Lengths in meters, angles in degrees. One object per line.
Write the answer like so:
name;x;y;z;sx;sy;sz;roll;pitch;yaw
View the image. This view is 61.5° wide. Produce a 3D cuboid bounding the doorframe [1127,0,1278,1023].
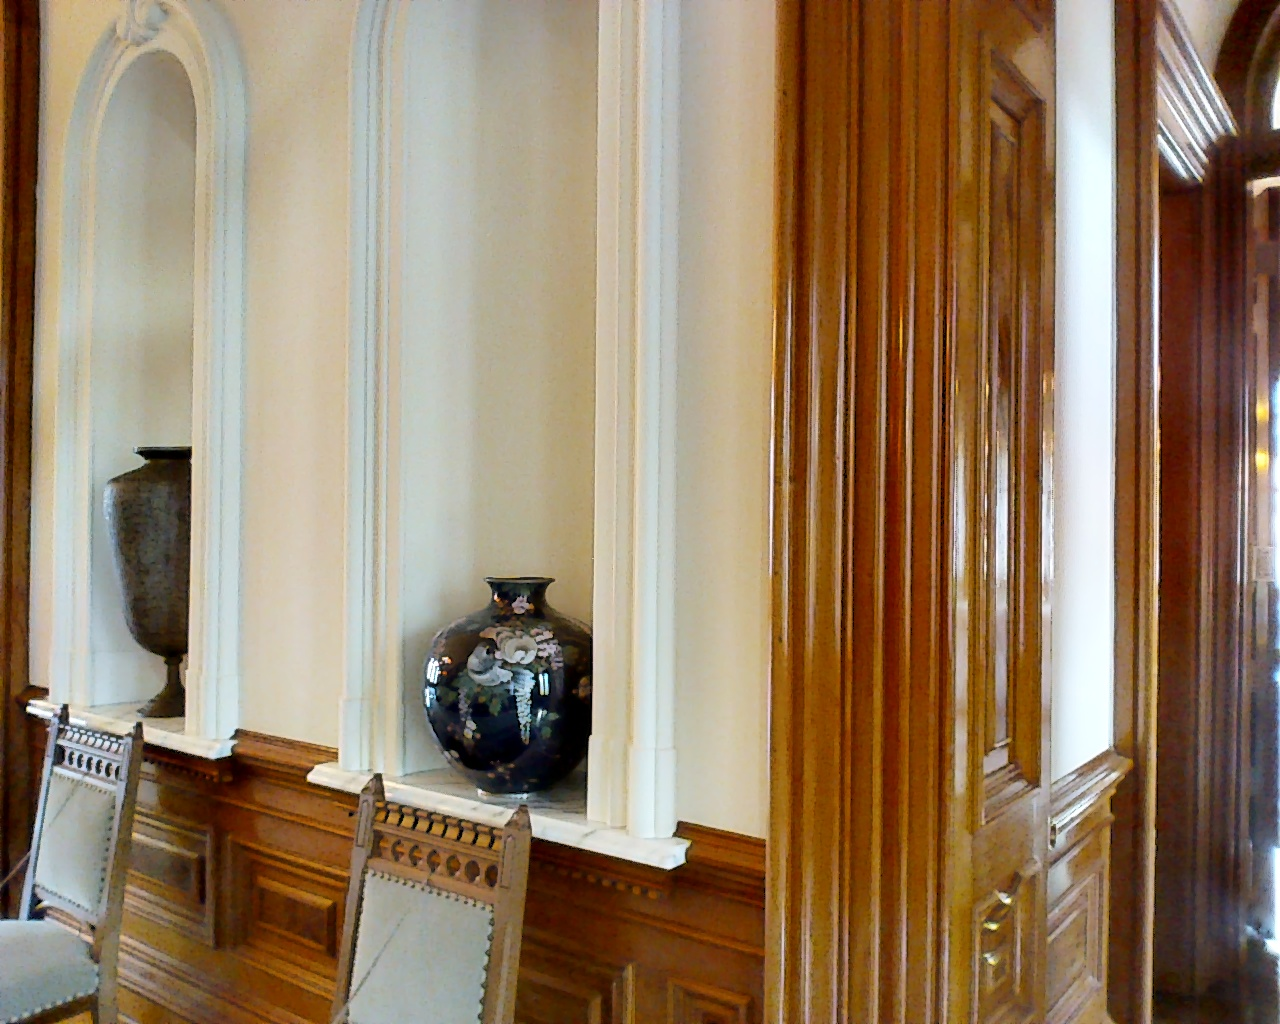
doorframe;1.700;0.000;3.180;0.160;3.130;1.420;0;0;37
